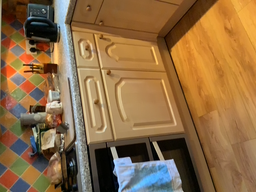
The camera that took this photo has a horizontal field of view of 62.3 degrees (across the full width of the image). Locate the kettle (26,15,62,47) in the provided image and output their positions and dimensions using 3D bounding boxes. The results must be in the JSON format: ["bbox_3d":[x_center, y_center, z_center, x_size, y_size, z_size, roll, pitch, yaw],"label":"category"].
[{"bbox_3d":[-0.630,-0.480,1.580,0.130,0.230,0.150,-46,52,53],"label":"kettle"}]
